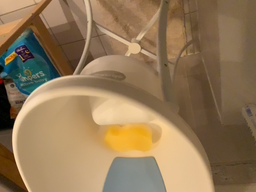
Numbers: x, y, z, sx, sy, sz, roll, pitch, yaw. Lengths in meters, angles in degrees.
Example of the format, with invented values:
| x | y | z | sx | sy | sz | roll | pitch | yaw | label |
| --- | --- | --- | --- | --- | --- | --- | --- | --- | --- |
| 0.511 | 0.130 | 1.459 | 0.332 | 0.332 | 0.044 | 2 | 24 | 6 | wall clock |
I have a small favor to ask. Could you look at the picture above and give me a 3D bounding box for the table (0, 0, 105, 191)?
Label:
| x | y | z | sx | sy | sz | roll | pitch | yaw | label |
| --- | --- | --- | --- | --- | --- | --- | --- | --- | --- |
| -0.660 | 0.000 | 1.010 | 0.800 | 0.870 | 0.610 | -9 | 132 | 15 | table |
